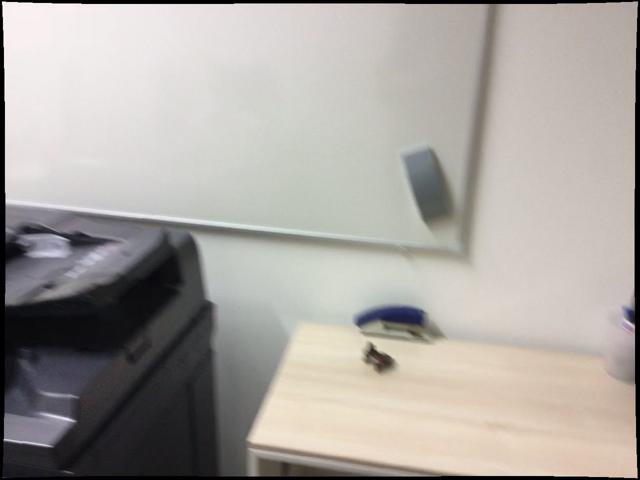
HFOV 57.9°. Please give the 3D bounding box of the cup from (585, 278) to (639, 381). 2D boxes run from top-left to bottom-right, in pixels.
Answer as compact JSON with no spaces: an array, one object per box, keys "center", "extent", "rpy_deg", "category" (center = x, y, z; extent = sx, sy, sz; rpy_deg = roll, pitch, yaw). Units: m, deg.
[{"center":[0.639,0.180,1.130],"extent":[0.180,0.140,0.140],"rpy_deg":[9,22,14],"category":"cup"}]
